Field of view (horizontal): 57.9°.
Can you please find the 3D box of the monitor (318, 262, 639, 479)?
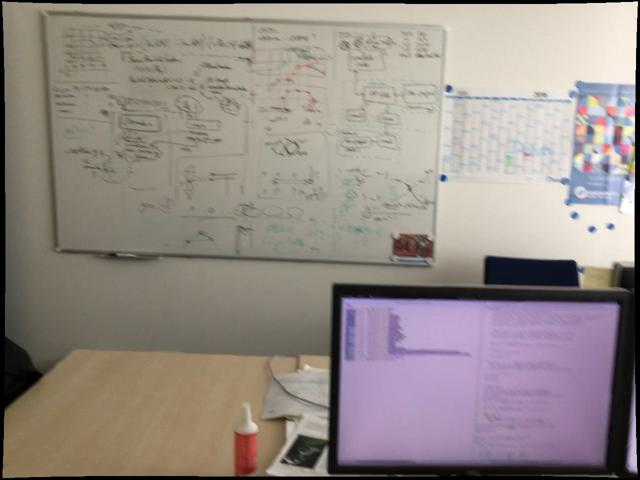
[{"bbox_3d":[0.280,0.320,1.110,0.559,0.521,0.150,2,11,0],"label":"monitor"}]
